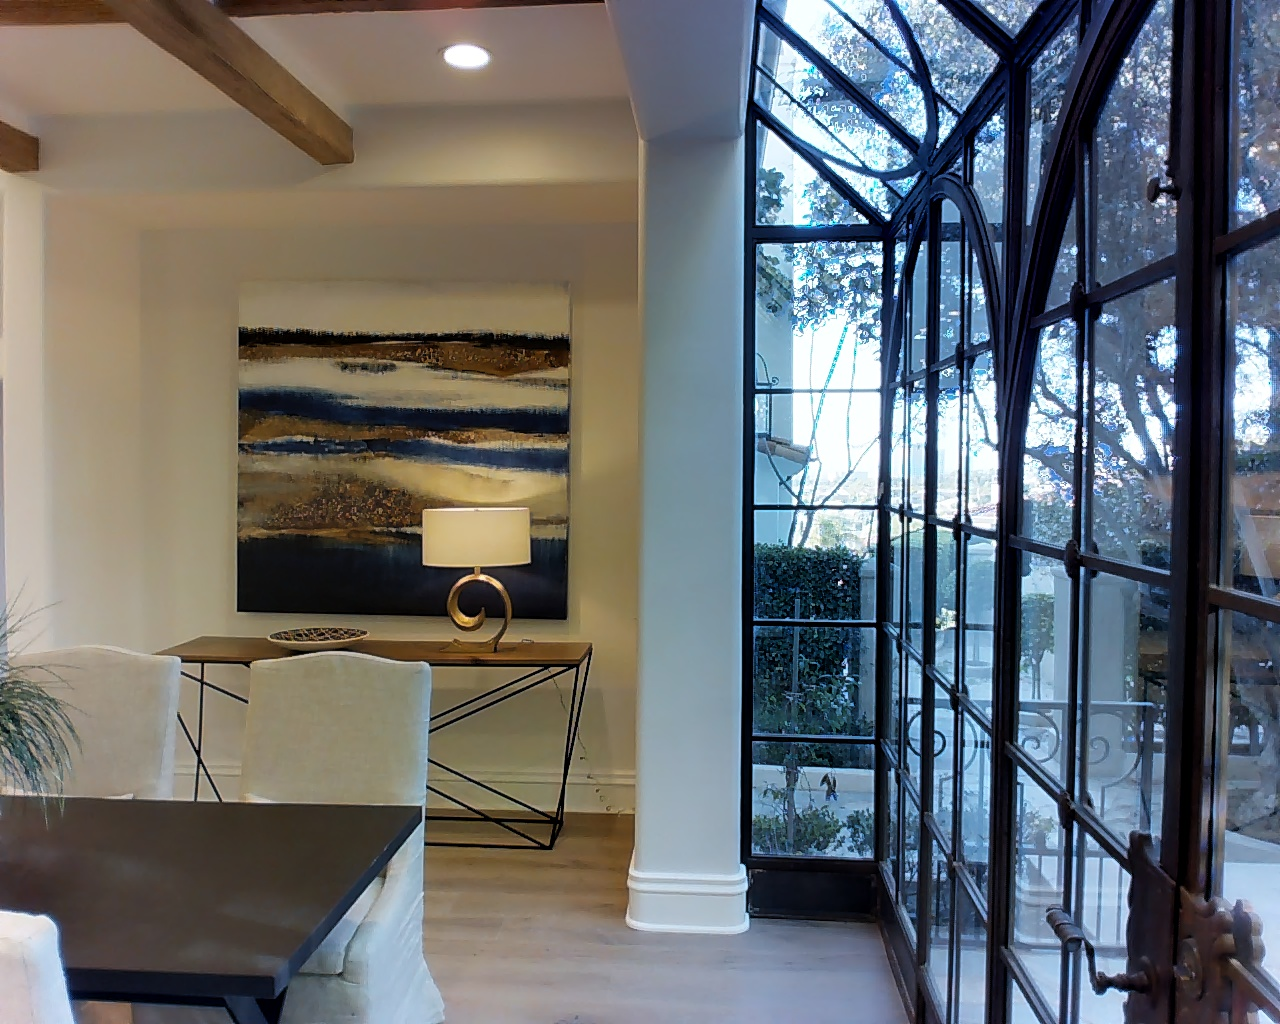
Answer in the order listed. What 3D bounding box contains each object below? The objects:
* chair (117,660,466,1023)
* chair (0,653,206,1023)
[{"bbox_3d":[-0.850,0.990,2.790,0.630,1.080,0.720,1,2,5],"label":"chair"},{"bbox_3d":[-1.619,0.980,2.860,0.580,1.080,0.750,1,2,5],"label":"chair"}]
